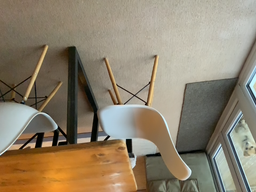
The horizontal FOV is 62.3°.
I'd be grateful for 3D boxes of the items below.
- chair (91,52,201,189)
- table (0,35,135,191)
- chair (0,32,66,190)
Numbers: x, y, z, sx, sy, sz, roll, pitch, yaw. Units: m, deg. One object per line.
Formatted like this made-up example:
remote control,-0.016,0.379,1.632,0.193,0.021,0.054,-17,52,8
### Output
chair,0.050,0.170,1.490,0.530,0.800,0.460,6,142,-14
table,-0.910,0.250,1.520,1.810,0.760,0.840,-6,144,2
chair,-0.690,0.080,1.290,0.410,0.800,0.500,-4,144,-1
